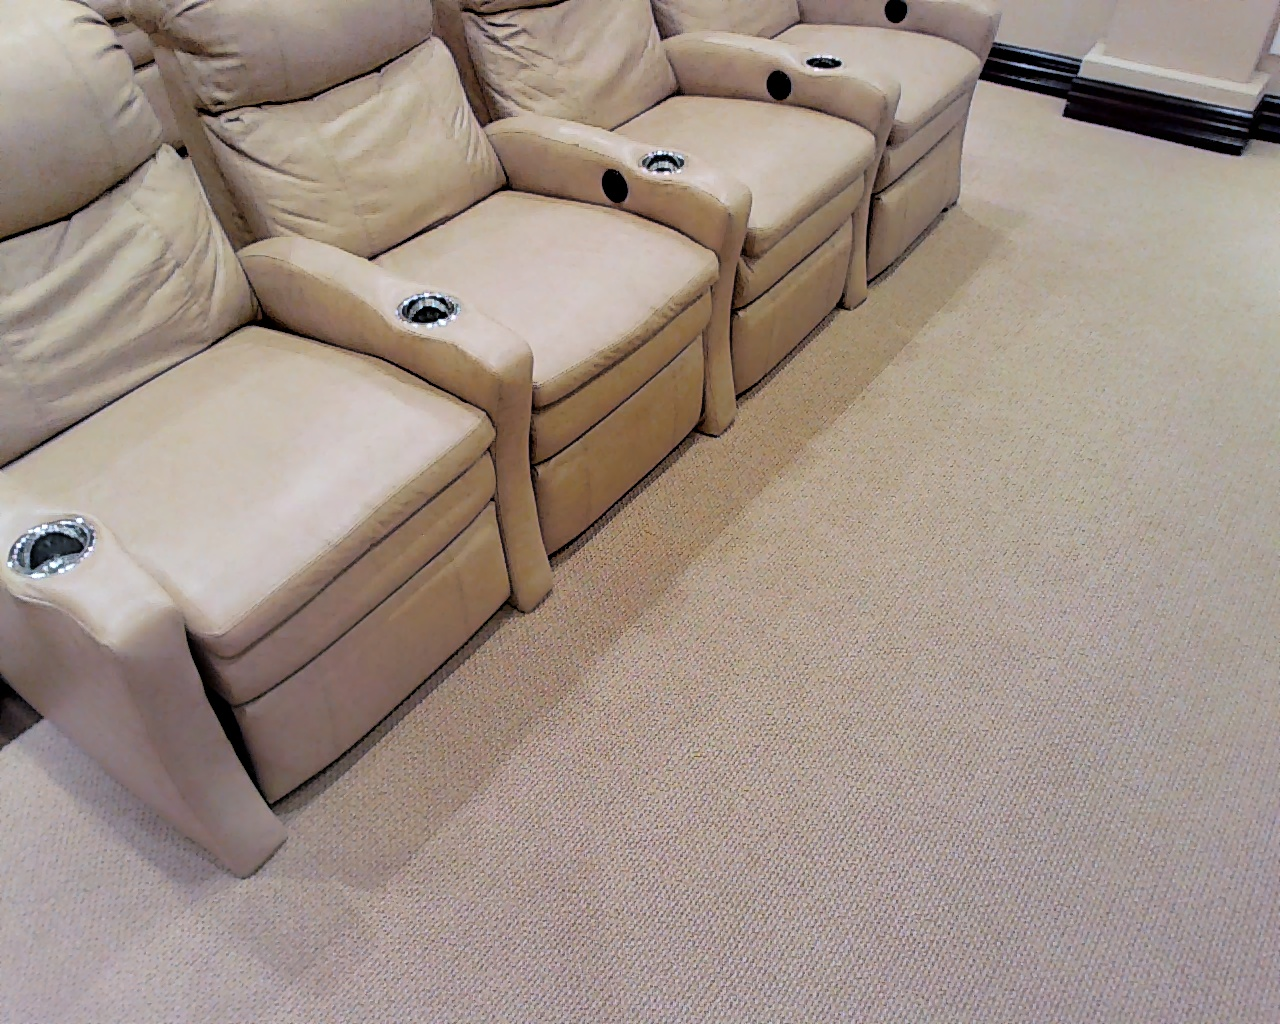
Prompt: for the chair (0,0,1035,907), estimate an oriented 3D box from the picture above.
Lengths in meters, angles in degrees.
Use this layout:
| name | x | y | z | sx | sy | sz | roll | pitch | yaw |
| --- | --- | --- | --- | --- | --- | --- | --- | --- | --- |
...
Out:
| name | x | y | z | sx | sy | sz | roll | pitch | yaw |
| --- | --- | --- | --- | --- | --- | --- | --- | --- | --- |
| chair | -0.190 | -0.820 | 2.420 | 1.090 | 1.040 | 3.010 | 26 | 48 | 25 |
